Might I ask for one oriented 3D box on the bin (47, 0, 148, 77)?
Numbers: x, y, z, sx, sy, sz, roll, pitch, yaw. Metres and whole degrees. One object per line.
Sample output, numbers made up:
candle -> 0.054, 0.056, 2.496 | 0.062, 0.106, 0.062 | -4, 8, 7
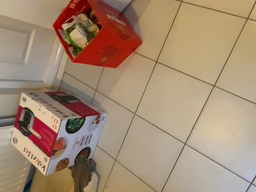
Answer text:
bin -> -0.160, -0.330, 1.170 | 0.330, 0.340, 0.280 | -42, 70, 25
